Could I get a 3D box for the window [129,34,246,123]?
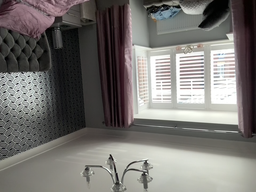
[{"bbox_3d":[0.980,-0.280,3.770,1.920,1.350,0.310,1,-173,26],"label":"window"}]
